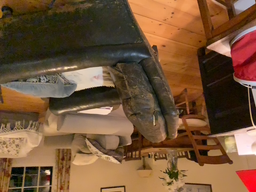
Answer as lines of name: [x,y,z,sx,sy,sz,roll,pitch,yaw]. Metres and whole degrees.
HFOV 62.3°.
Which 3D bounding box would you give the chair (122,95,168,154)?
chair: [0.240,0.470,3.390,0.500,0.830,0.480,6,159,-25]
